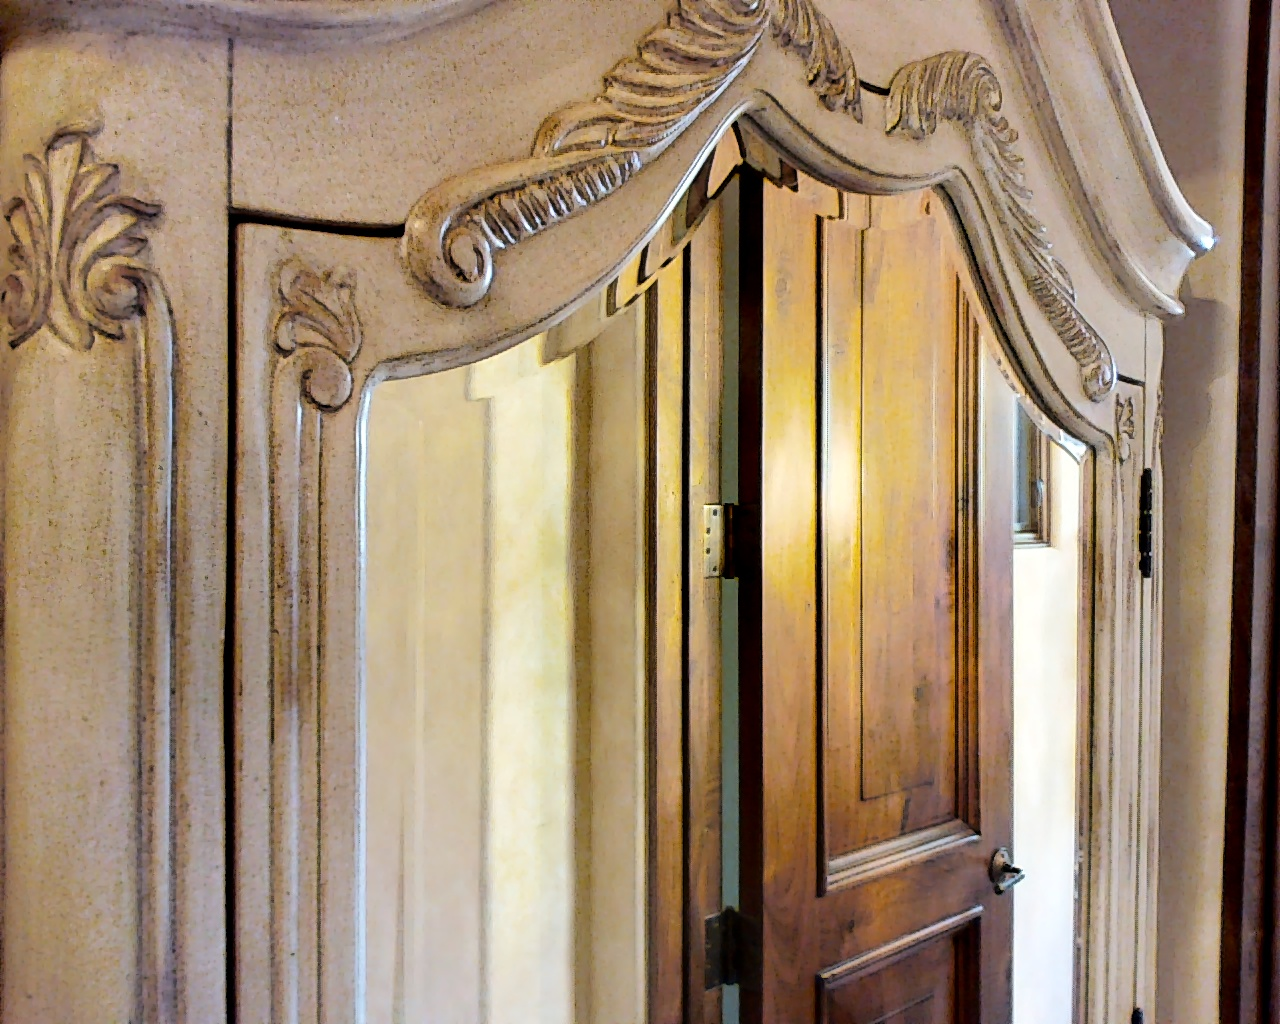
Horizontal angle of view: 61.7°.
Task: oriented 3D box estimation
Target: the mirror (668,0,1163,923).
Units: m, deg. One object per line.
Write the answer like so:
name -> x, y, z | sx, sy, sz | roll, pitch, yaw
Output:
mirror -> 0.640, -0.090, 2.190 | 1.320, 1.460, 0.250 | 0, 2, -42
